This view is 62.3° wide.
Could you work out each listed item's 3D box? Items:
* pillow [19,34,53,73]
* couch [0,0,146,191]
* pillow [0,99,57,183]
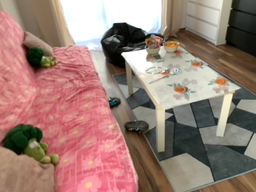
[{"bbox_3d":[-0.900,-0.430,2.110,0.230,0.270,0.270,-13,35,-13],"label":"pillow"},{"bbox_3d":[-0.680,-0.040,1.570,0.960,0.880,2.050,-13,35,-12],"label":"couch"},{"bbox_3d":[-0.530,0.210,1.060,0.280,0.190,0.320,-13,35,-13],"label":"pillow"}]
